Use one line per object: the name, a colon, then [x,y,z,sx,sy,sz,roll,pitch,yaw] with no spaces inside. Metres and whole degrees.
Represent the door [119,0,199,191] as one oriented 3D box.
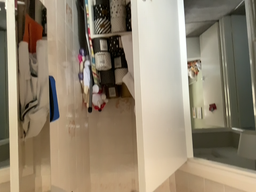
door: [0.250,-0.480,1.420,0.120,2.020,1.050,-5,176,27]
